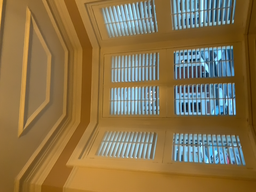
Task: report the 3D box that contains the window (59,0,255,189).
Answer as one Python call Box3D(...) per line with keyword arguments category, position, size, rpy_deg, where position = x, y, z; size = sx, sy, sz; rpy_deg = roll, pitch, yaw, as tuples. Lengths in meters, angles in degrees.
Box3D(category="window", position=(0.330, -0.210, 2.490), size=(0.760, 1.990, 2.070), rpy_deg=(20, -109, -72))
